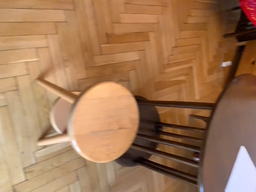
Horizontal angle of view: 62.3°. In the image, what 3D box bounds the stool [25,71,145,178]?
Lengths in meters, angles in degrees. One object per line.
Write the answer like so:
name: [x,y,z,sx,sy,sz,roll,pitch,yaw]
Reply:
stool: [-0.230,0.090,1.000,0.330,0.530,0.350,2,91,-41]
